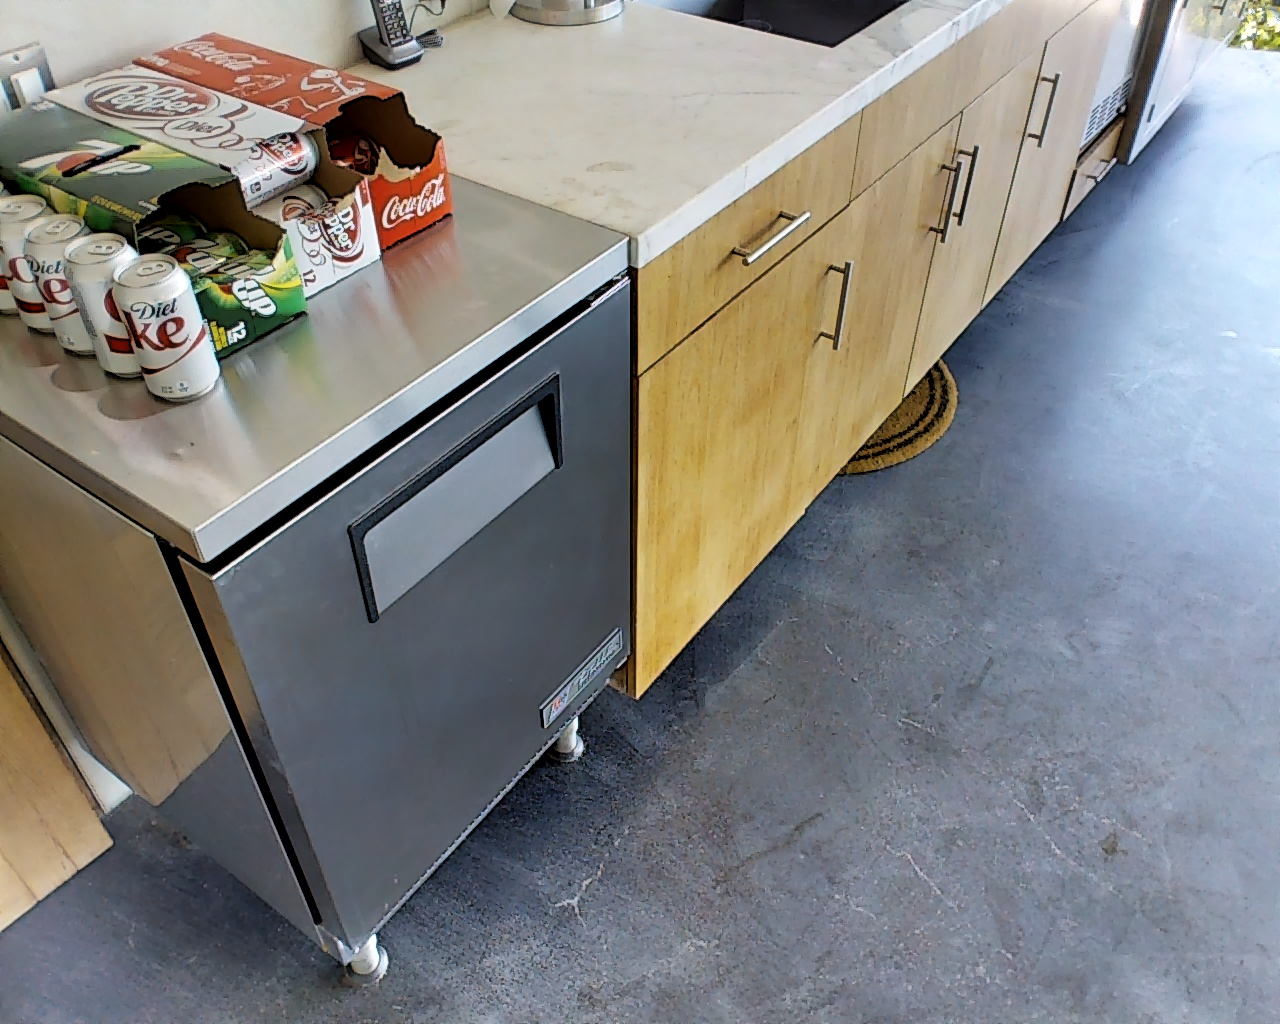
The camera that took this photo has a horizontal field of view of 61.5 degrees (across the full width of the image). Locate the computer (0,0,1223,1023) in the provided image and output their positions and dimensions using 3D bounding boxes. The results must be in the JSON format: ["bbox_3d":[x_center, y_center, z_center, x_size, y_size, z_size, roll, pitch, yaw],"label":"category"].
[{"bbox_3d":[0.380,-0.630,2.290,0.720,1.010,3.230,27,49,26],"label":"computer"}]
